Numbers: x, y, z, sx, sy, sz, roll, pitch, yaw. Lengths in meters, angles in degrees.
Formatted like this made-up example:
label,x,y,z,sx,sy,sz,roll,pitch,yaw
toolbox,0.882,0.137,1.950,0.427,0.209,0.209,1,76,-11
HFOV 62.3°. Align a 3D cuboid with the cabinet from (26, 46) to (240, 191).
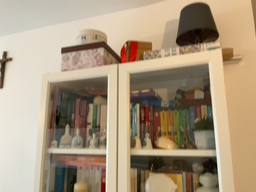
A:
label,x,y,z,sx,sy,sz,roll,pitch,yaw
cabinet,0.000,0.860,0.820,0.830,2.000,0.310,-4,-13,20
